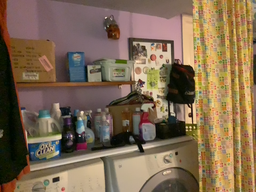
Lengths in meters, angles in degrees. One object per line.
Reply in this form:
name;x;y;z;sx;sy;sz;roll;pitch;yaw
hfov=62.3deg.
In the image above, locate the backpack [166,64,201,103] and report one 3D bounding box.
backpack;0.610;-0.140;2.360;0.270;0.400;0.250;-3;2;-28
